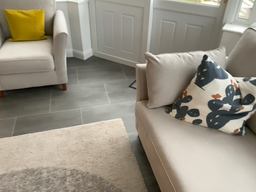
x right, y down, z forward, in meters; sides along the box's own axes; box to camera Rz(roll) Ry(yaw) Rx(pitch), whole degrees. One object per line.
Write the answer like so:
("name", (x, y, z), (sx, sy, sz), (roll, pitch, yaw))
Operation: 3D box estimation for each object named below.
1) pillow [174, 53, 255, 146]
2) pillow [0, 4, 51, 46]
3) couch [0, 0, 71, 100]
("pillow", (0.540, 0.030, 1.330), (0.390, 0.470, 0.210), (-12, 23, 13))
("pillow", (-1.190, -0.820, 2.440), (0.460, 0.340, 0.260), (-18, 24, -6))
("couch", (-1.180, -0.640, 2.410), (0.900, 0.920, 0.970), (-7, 37, -12))
